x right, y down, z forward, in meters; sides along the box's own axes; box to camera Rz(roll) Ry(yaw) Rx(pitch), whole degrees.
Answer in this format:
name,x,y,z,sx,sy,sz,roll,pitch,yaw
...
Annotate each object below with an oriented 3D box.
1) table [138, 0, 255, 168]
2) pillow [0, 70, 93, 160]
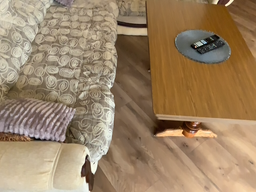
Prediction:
name,x,y,z,sx,sy,sz,roll,pitch,yaw
table,0.470,-0.180,1.680,0.710,0.620,1.240,4,50,-2
pillow,-0.520,0.100,1.140,0.600,0.290,0.370,2,50,-3
